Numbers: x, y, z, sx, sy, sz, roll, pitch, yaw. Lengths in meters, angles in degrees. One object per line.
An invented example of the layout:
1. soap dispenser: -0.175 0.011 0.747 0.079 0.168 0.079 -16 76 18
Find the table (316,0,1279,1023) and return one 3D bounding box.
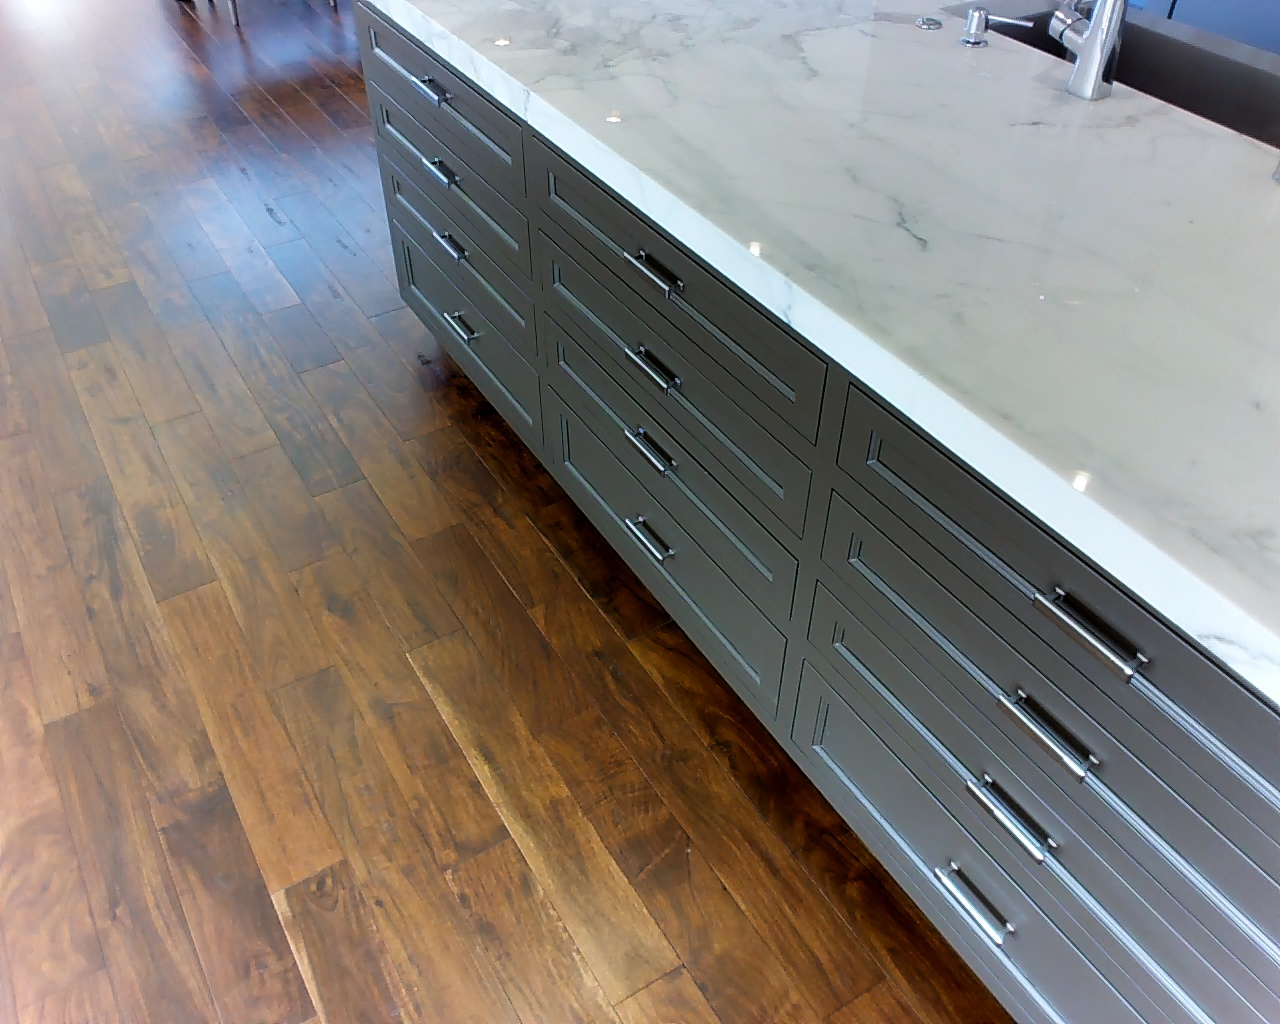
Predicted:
1. table: 1.320 0.480 1.080 1.430 0.980 5.470 -22 47 -22
